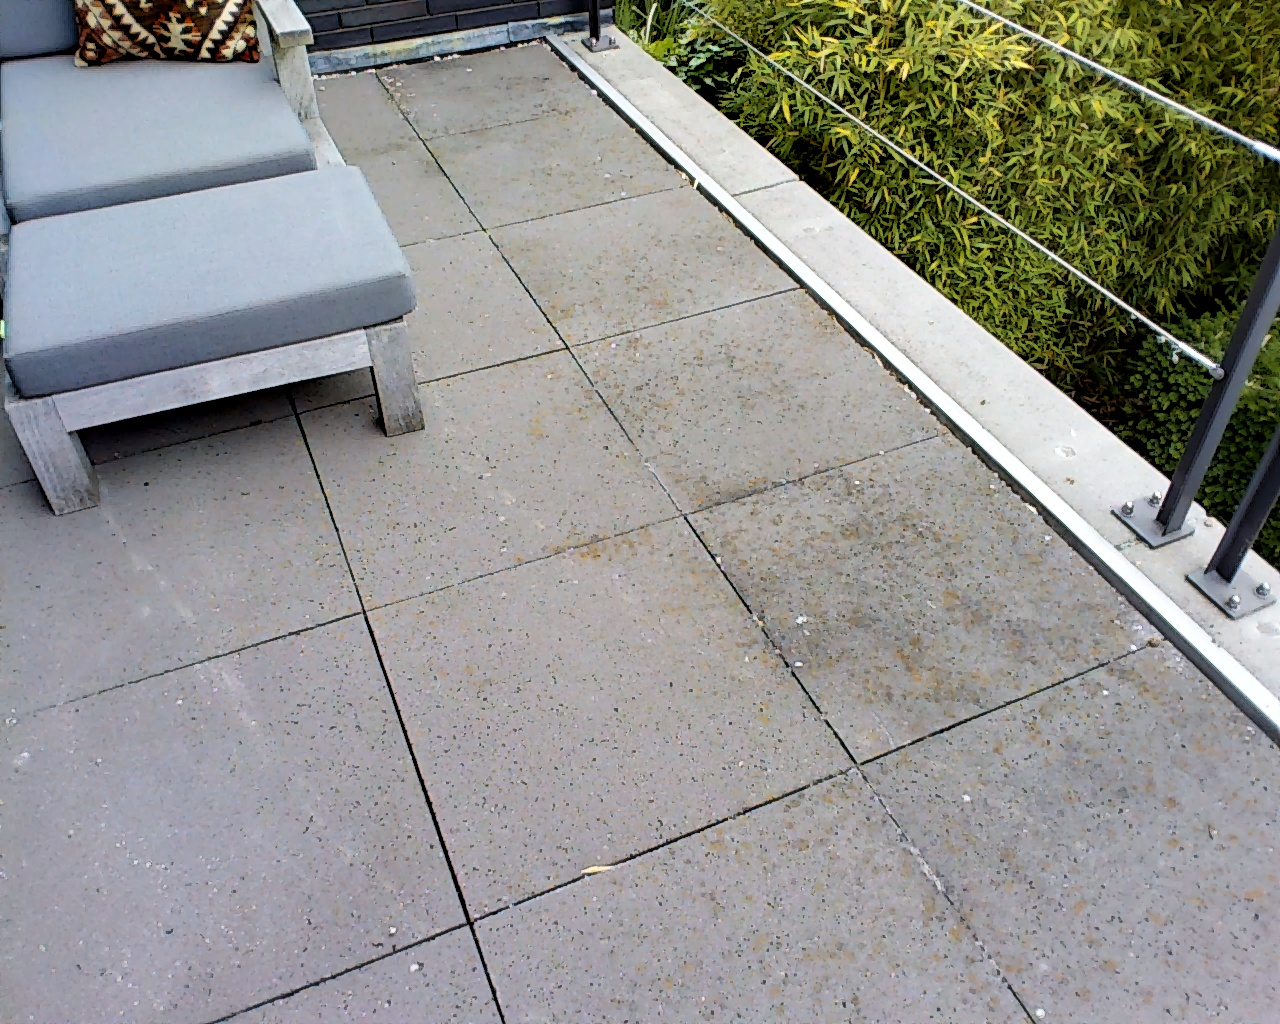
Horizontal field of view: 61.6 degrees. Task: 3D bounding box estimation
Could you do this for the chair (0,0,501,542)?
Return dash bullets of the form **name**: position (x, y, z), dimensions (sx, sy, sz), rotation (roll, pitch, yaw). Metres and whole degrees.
- **chair**: position (-1.090, -0.950, 2.380), dimensions (0.960, 0.860, 1.820), rotation (-16, 45, -18)
